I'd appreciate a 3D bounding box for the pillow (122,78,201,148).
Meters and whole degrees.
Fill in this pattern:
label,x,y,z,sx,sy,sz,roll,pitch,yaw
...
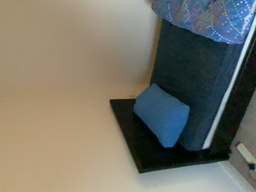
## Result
label,x,y,z,sx,sy,sz,roll,pitch,yaw
pillow,0.300,0.140,1.930,0.660,0.420,0.180,31,72,40

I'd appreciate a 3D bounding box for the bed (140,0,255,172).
label,x,y,z,sx,sy,sz,roll,pitch,yaw
bed,0.640,-0.510,1.710,0.430,2.010,1.000,-3,31,-20
